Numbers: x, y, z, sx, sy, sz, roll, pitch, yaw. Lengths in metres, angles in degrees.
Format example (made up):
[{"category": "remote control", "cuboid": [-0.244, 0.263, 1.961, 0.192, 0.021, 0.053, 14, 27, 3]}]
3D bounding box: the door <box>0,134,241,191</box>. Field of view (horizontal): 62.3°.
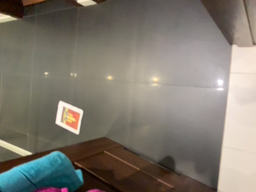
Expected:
[{"category": "door", "cuboid": [-0.390, 0.390, 0.500, 1.020, 2.030, 0.060, 12, 95, 32]}]
